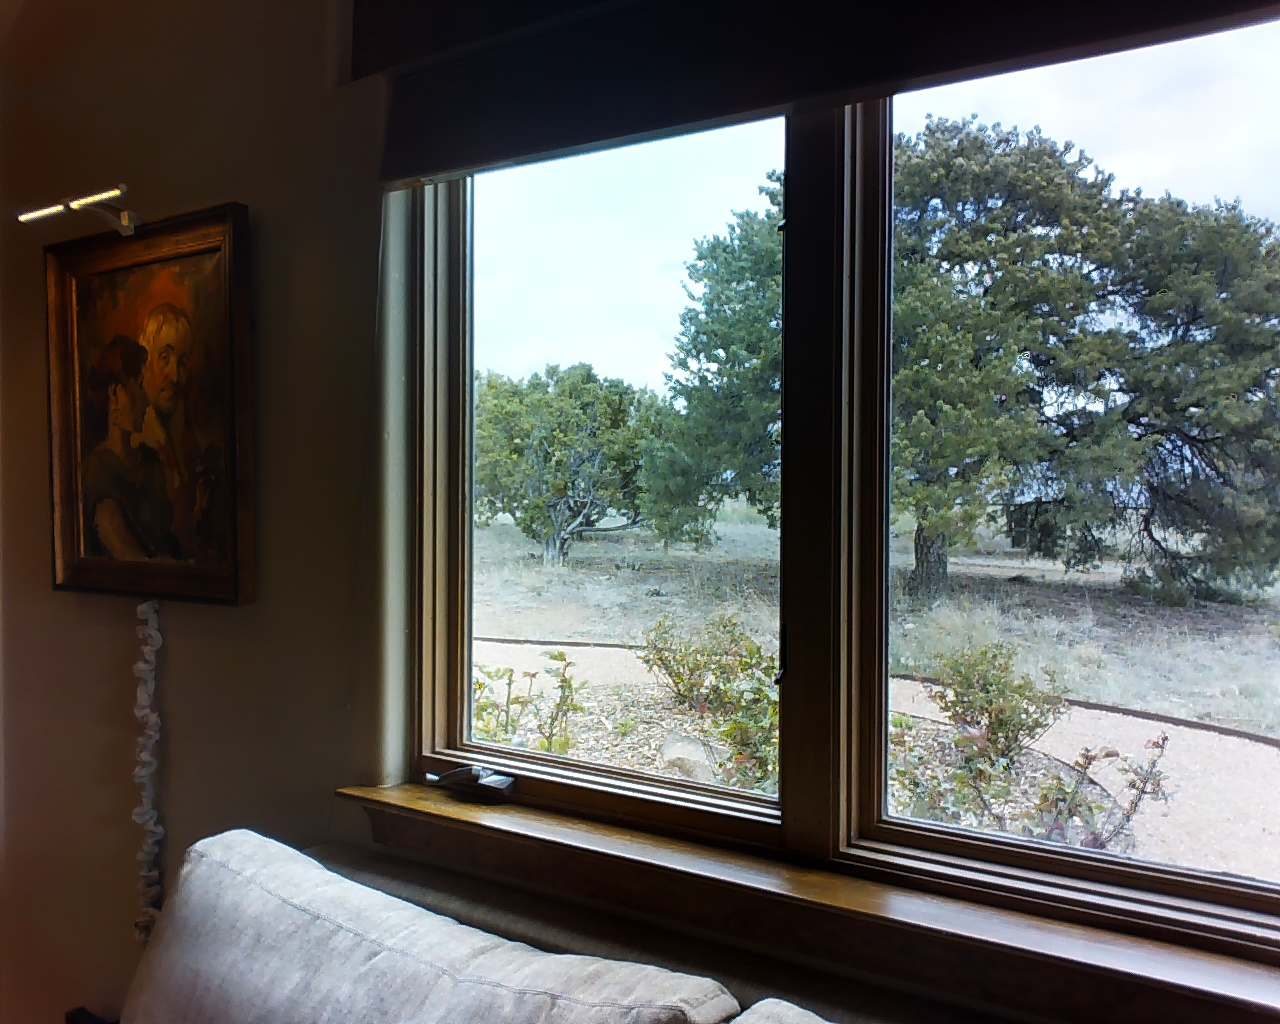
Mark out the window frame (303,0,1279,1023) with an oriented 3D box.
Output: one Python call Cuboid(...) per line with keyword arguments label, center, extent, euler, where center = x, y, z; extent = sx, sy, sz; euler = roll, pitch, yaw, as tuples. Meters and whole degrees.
Cuboid(label="window frame", center=(0.510, -0.180, 1.200), extent=(2.470, 1.430, 0.200), euler=(1, 0, 34))
